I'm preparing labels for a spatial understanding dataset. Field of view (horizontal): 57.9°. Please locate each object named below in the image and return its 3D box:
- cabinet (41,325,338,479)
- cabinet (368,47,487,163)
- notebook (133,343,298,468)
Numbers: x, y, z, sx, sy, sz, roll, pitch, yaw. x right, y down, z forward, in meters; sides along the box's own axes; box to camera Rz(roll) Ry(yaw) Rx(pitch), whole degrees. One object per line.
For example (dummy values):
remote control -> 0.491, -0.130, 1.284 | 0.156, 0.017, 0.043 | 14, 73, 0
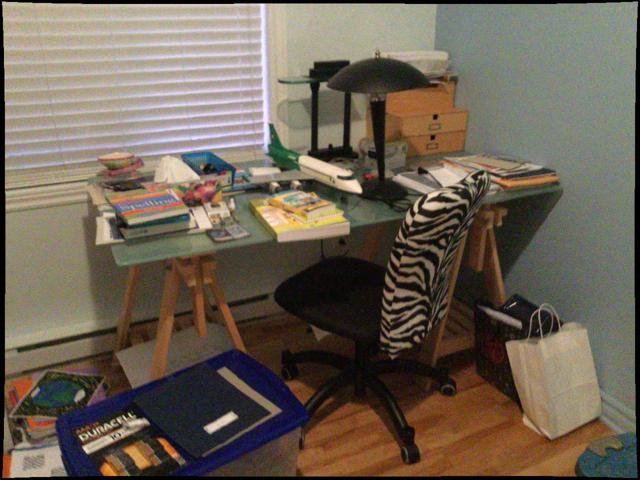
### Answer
cabinet -> -0.340, 0.591, 1.570 | 0.600, 0.360, 0.490 | -18, 30, -33
cabinet -> 0.420, -0.561, 2.350 | 0.310, 0.380, 0.340 | -12, 27, -24
notebook -> -0.280, 0.420, 1.540 | 0.300, 0.040, 0.330 | -21, 32, -38
